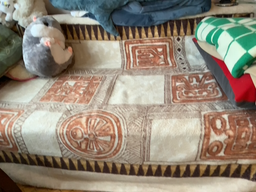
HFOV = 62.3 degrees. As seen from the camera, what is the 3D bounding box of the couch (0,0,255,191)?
[{"bbox_3d":[-0.130,-0.060,1.280,2.040,0.720,0.940,0,35,9],"label":"couch"}]
